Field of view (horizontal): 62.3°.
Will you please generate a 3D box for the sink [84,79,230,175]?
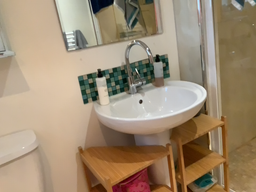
[{"bbox_3d":[0.130,0.090,1.070,0.540,0.180,0.470,-19,19,-28],"label":"sink"}]
